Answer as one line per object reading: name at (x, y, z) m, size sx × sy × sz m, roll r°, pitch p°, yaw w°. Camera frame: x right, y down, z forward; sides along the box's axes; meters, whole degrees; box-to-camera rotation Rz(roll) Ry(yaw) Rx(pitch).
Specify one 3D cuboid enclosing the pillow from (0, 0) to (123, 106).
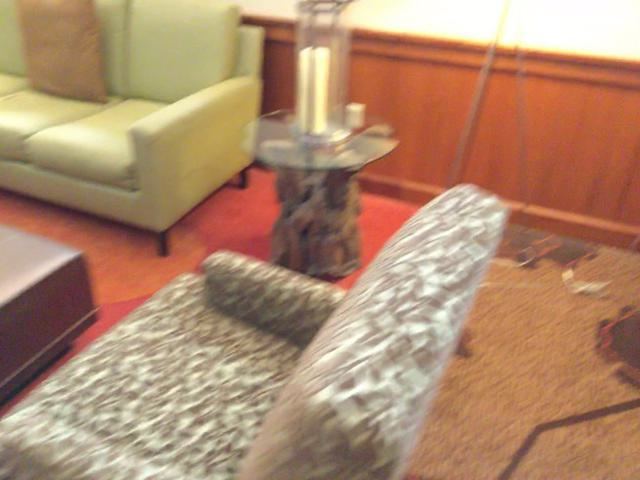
pillow at (-1.350, -1.050, 2.920) m, size 0.610 × 0.550 × 0.270 m, roll 19°, pitch 34°, yaw 16°

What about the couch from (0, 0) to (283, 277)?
couch at (-1.400, -0.820, 2.950) m, size 2.110 × 1.010 × 1.020 m, roll 19°, pitch 34°, yaw 16°

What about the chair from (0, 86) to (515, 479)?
chair at (-0.190, 0.330, 1.320) m, size 0.860 × 0.990 × 0.790 m, roll 19°, pitch 34°, yaw 17°
